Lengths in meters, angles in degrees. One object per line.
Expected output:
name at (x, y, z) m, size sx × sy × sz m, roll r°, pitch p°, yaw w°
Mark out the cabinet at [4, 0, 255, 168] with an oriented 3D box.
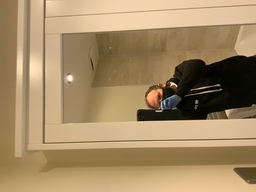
cabinet at (0.160, -0.230, 0.670) m, size 0.160 × 1.010 × 0.840 m, roll 60°, pitch -151°, yaw -84°
